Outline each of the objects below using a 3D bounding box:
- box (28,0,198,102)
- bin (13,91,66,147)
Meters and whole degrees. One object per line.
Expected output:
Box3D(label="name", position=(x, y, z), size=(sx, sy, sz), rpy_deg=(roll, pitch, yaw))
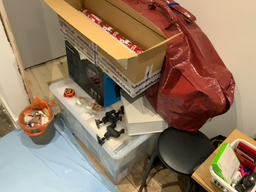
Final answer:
Box3D(label="box", position=(-0.160, -0.460, 1.270), size=(0.510, 0.380, 0.910), rpy_deg=(-28, 51, -31))
Box3D(label="bin", position=(-0.670, 0.170, 1.630), size=(0.240, 0.260, 0.250), rpy_deg=(-30, 52, -32))
